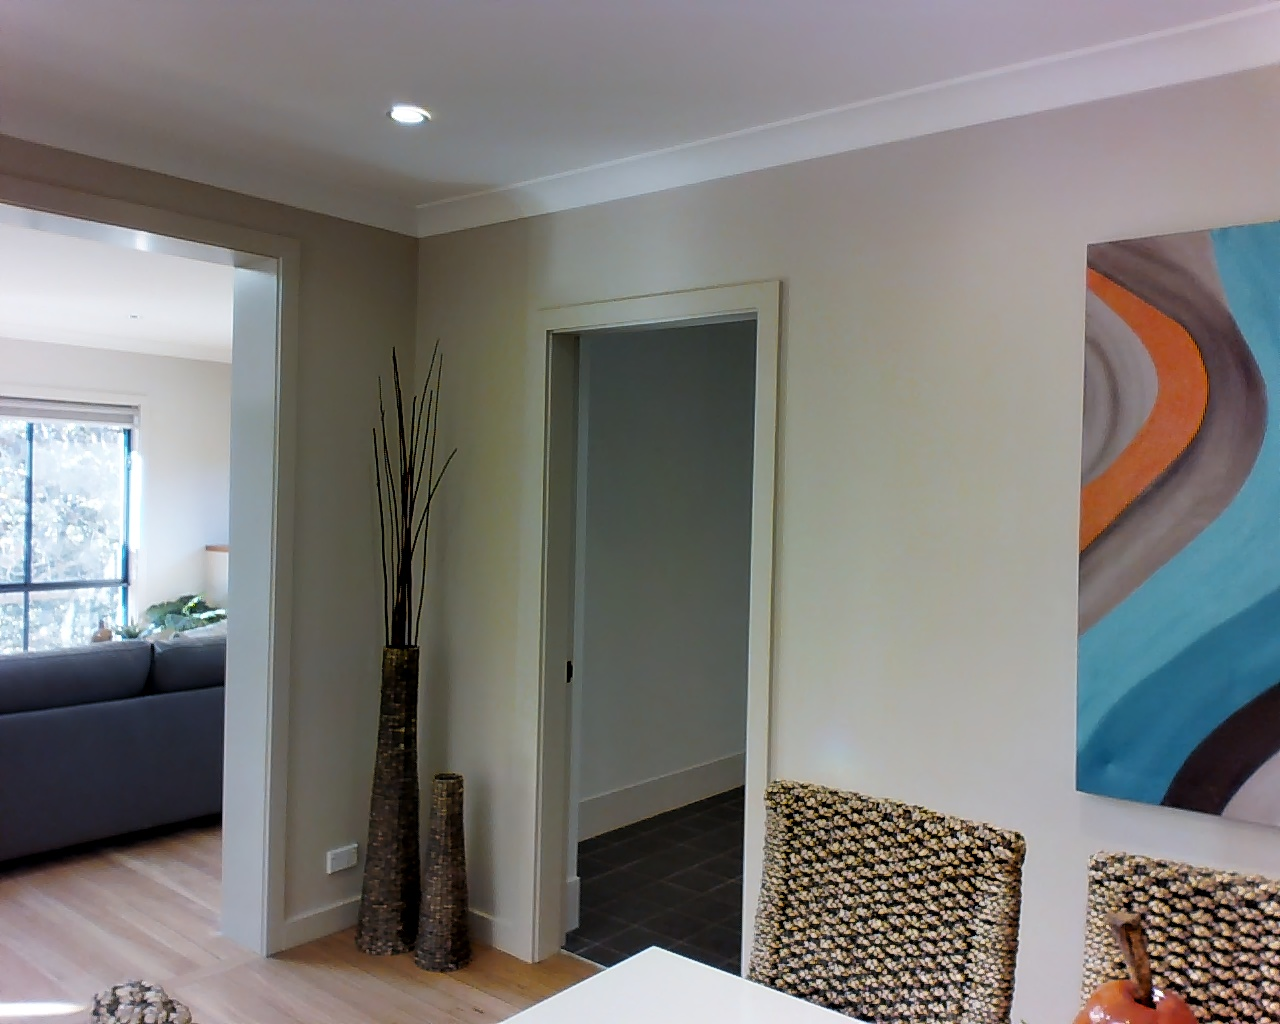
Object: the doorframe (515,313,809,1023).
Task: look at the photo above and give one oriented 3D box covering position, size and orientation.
[{"bbox_3d":[0.040,0.470,3.270,0.880,2.041,0.240,2,1,39],"label":"doorframe"}]
